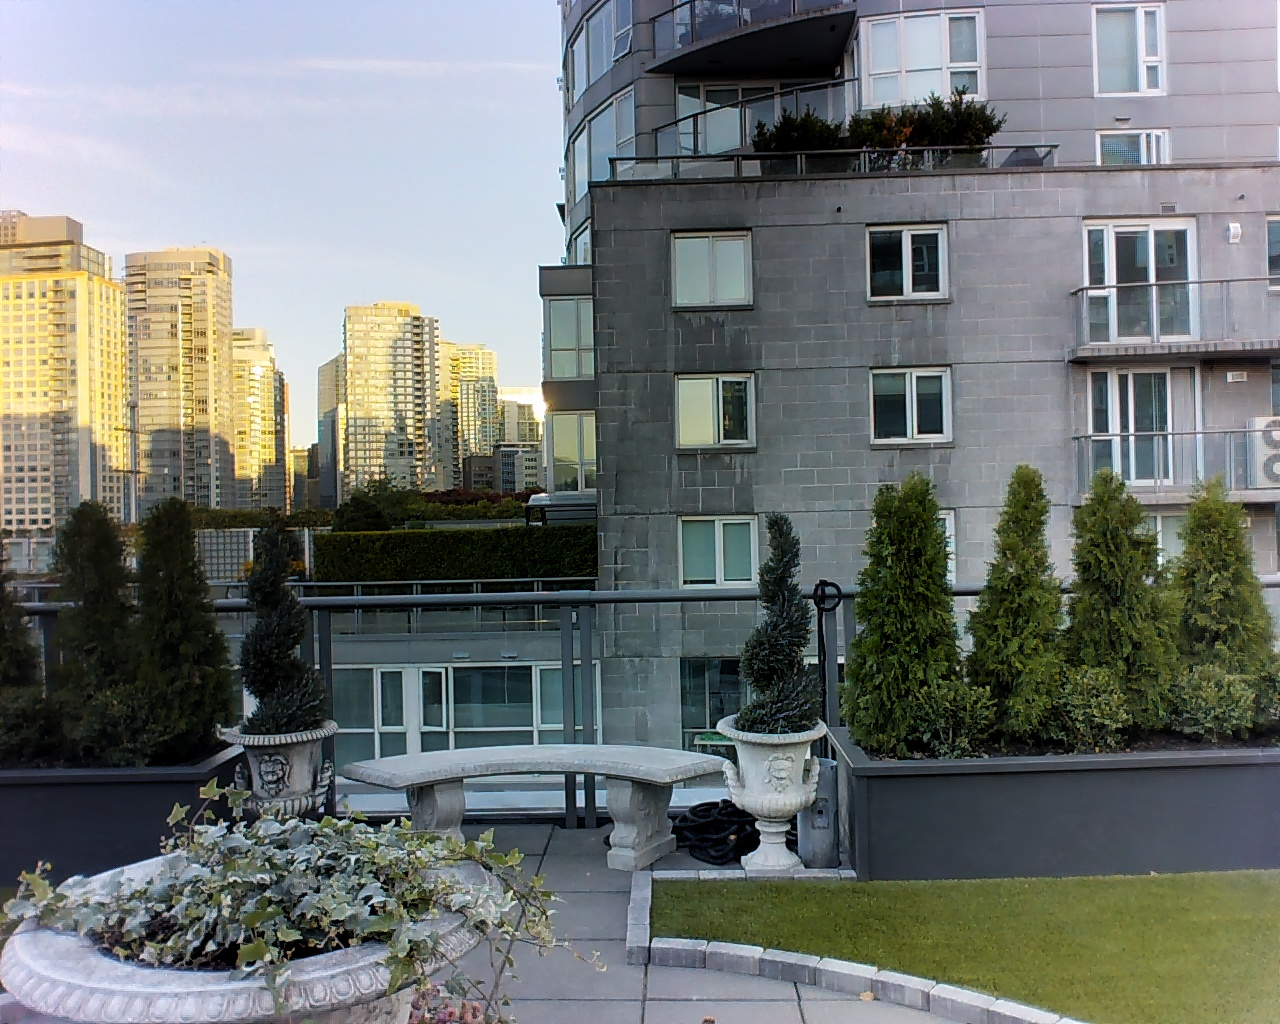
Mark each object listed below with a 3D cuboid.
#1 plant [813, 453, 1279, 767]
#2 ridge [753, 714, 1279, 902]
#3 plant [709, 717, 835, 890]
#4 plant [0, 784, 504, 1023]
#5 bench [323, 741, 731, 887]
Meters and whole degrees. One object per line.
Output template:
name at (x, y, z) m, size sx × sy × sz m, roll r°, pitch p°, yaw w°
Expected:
plant at (2.939, 0.360, 4.430) m, size 4.329 × 1.190 × 0.650 m, roll -1°, pitch 0°, yaw 3°
ridge at (2.879, 1.170, 4.400) m, size 4.759 × 0.530 × 0.870 m, roll -1°, pitch 0°, yaw 3°
plant at (0.520, 1.160, 4.350) m, size 0.440 × 0.560 × 0.500 m, roll -1°, pitch 0°, yaw 1°
plant at (-0.460, 0.670, 1.410) m, size 0.460 × 0.470 × 0.610 m, roll -1°, pitch 0°, yaw 2°
bench at (-0.430, 1.240, 4.480) m, size 1.580 × 0.420 × 0.640 m, roll -1°, pitch 0°, yaw 3°
